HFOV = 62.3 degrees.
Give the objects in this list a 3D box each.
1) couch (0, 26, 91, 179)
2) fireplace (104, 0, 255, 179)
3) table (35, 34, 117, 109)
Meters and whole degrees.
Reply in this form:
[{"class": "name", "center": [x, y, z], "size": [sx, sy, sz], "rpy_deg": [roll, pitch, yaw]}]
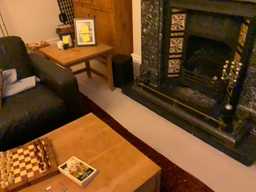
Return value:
[{"class": "couch", "center": [-1.280, 0.070, 1.670], "size": [1.540, 0.760, 1.060], "rpy_deg": [-26, 39, -33]}, {"class": "fireplace", "center": [0.590, -0.430, 1.880], "size": [0.650, 1.280, 1.860], "rpy_deg": [-24, 38, -31]}, {"class": "table", "center": [-0.580, -0.320, 2.460], "size": [0.620, 0.540, 0.620], "rpy_deg": [-27, 40, -34]}]
